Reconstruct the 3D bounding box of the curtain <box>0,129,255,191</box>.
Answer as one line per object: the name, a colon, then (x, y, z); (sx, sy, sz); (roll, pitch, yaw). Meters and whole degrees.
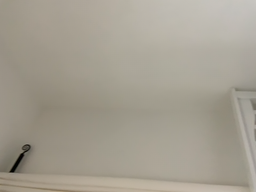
curtain: (0.140, 0.450, 1.100); (0.430, 1.940, 0.200); (-75, -20, -44)
